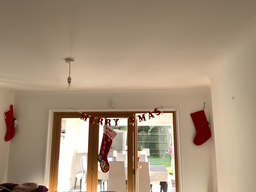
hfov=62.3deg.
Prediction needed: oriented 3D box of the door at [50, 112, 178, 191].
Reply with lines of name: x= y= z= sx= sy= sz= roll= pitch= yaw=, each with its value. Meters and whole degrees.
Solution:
door: x=-0.260 y=1.320 z=3.580 sx=2.150 sy=2.070 sz=0.110 roll=-1 pitch=-10 yaw=7
